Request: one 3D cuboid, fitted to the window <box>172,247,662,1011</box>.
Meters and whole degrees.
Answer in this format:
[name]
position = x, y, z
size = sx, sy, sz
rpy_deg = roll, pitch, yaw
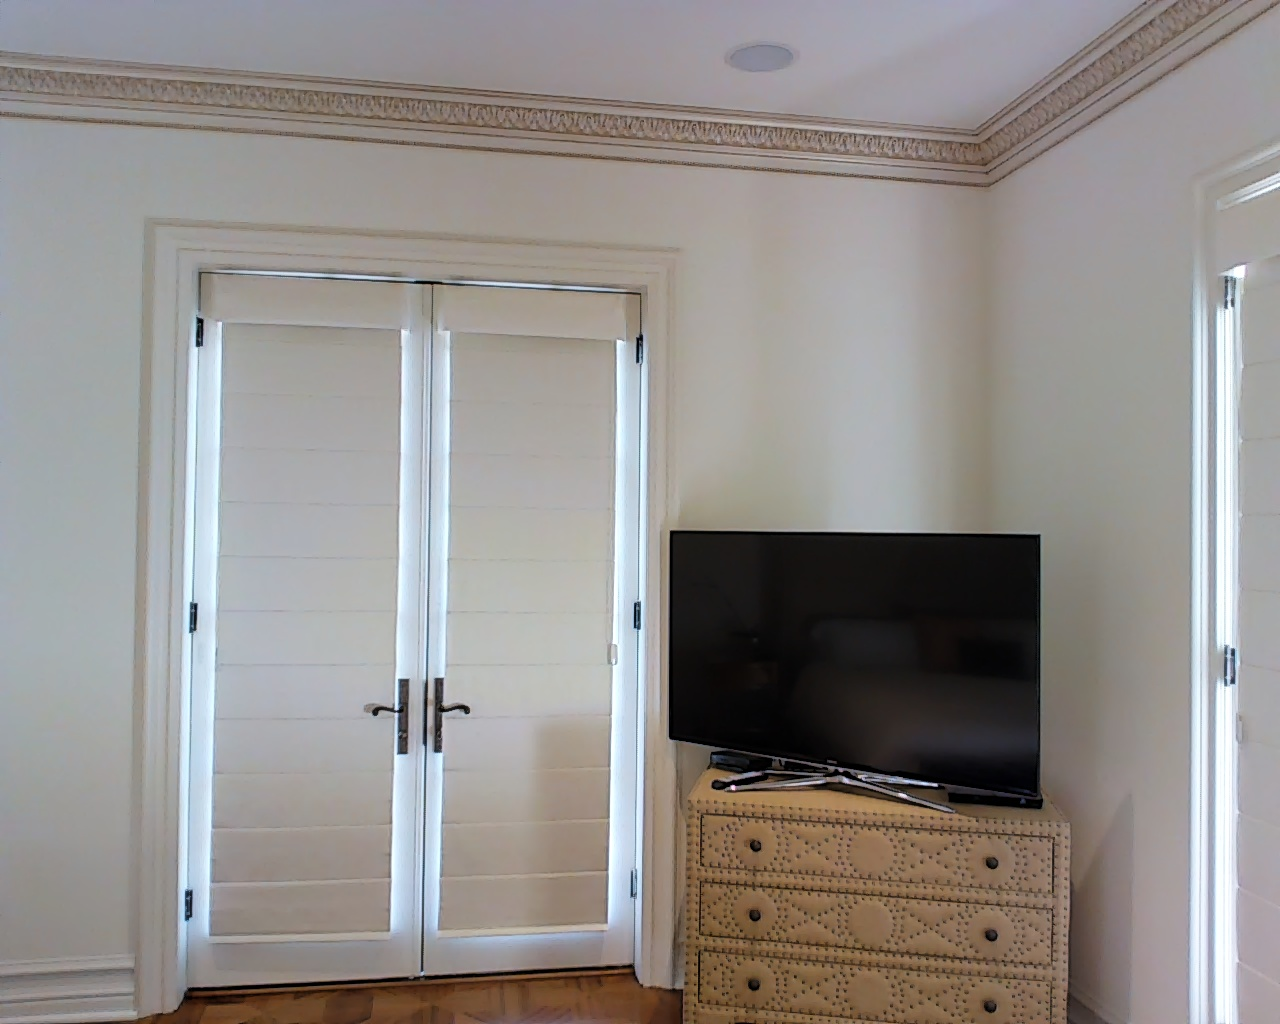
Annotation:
[window]
position = -0.720, 0.380, 3.650
size = 1.550, 2.431, 0.190
rpy_deg = 1, -1, -10
